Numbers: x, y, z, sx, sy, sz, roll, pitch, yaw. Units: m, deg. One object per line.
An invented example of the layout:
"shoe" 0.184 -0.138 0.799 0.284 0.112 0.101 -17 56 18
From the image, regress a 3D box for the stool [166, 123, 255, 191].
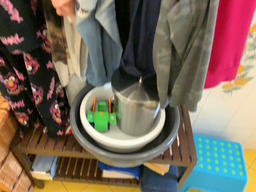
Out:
"stool" 0.480 0.420 1.300 0.420 0.240 0.360 11 47 4
